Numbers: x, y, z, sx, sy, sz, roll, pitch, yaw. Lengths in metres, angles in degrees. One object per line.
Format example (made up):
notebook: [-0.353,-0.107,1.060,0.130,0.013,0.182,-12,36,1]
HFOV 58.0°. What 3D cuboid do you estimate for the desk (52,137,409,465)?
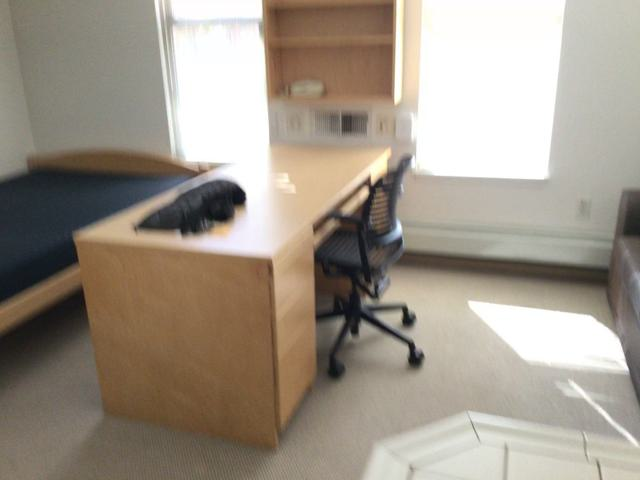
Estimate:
desk: [-0.200,0.060,2.830,0.910,0.810,1.860,6,20,18]
